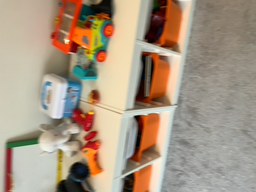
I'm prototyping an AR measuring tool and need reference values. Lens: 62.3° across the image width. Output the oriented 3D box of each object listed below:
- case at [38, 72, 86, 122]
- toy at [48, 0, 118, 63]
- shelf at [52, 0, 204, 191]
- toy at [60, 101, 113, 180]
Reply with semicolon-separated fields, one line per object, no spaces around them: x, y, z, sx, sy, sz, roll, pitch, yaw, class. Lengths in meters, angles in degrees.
-0.350;0.000;1.120;0.180;0.150;0.220;14;99;38;case
-0.230;-0.330;1.030;0.320;0.130;0.290;16;101;38;toy
-0.010;0.040;1.310;0.490;0.570;2.040;15;100;38;shelf
-0.220;0.210;1.080;0.270;0.070;0.320;15;100;38;toy
